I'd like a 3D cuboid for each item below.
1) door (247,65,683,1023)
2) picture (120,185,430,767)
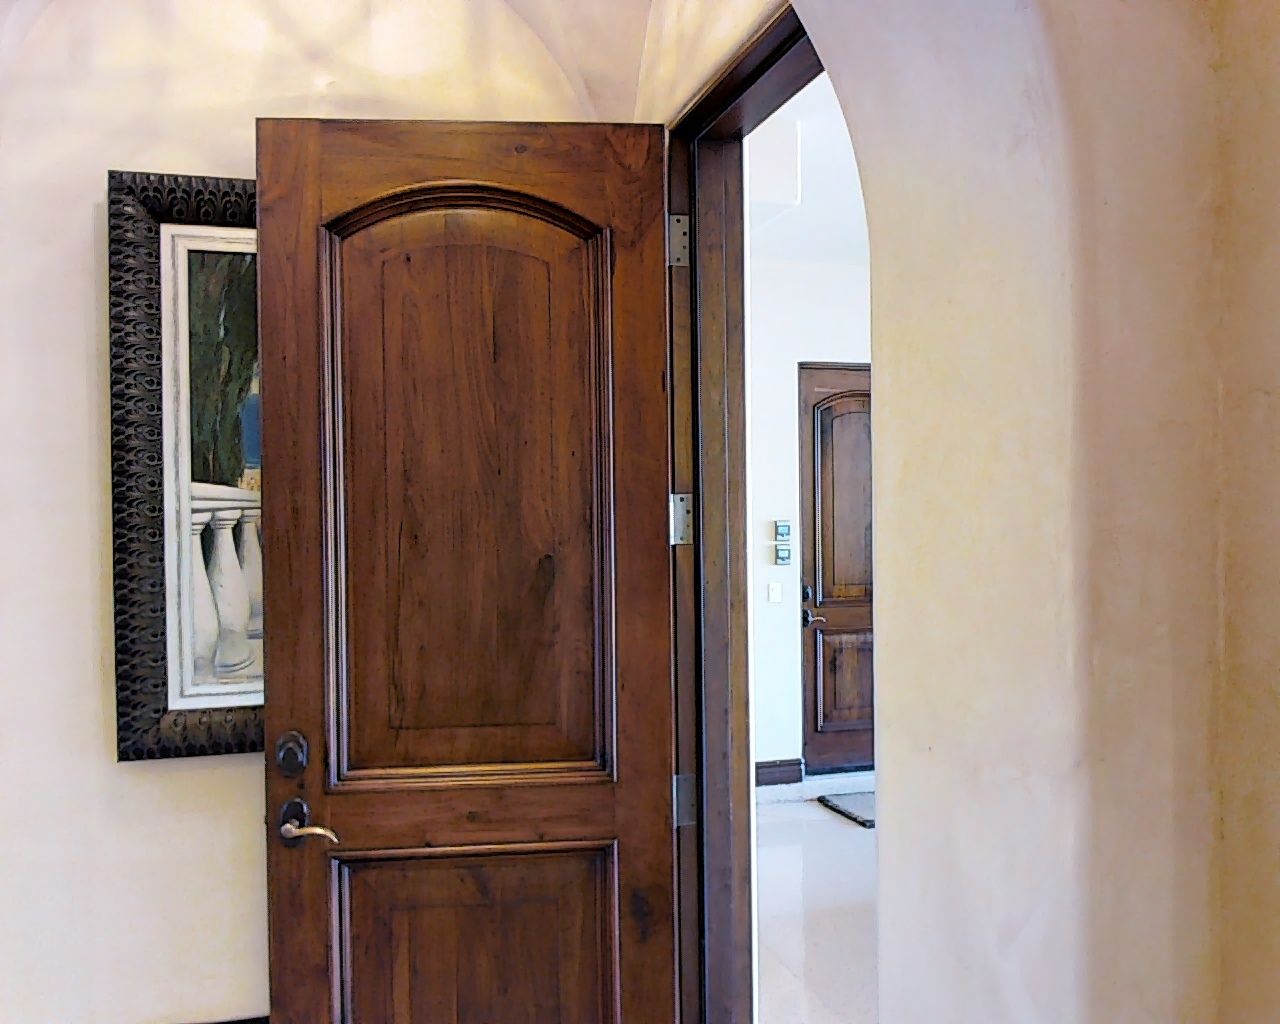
[{"bbox_3d":[-0.370,0.320,2.380,0.910,2.520,0.120,-1,0,-10],"label":"door"},{"bbox_3d":[-0.810,-0.080,2.420,0.640,1.250,0.090,-1,0,-14],"label":"picture"}]
